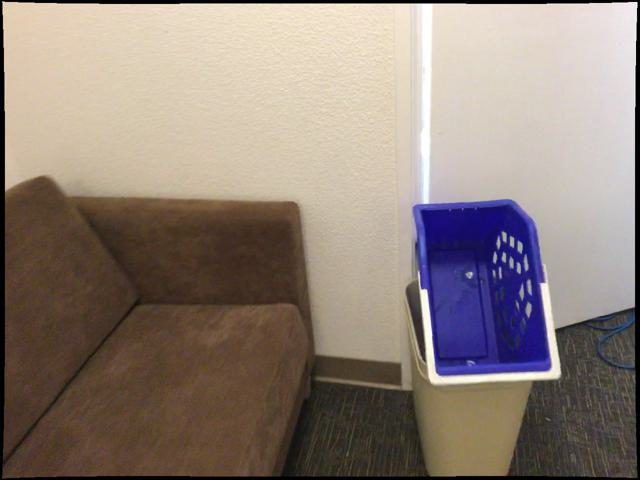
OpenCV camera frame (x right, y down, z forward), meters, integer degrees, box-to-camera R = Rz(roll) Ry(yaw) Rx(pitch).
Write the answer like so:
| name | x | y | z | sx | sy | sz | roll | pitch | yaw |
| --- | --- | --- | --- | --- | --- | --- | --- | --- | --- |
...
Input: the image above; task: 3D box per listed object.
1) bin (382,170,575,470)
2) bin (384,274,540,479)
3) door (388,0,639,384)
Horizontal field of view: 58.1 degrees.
| name | x | y | z | sx | sy | sz | roll | pitch | yaw |
| --- | --- | --- | --- | --- | --- | --- | --- | --- | --- |
| bin | 0.359 | 0.150 | 1.350 | 0.329 | 0.431 | 0.540 | 1 | 32 | 15 |
| bin | 0.359 | 0.371 | 1.470 | 0.319 | 0.451 | 0.330 | 1 | 32 | 15 |
| door | 0.708 | -0.281 | 1.620 | 1.008 | 1.383 | 0.120 | -15 | 32 | -11 |
